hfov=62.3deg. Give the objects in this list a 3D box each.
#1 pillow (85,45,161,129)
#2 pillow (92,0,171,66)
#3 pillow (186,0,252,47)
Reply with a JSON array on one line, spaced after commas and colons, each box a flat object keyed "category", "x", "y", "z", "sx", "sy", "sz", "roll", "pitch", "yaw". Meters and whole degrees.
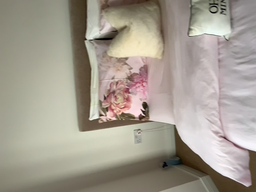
[{"category": "pillow", "x": -0.030, "y": -0.080, "z": 1.770, "sx": 0.150, "sy": 0.440, "sz": 0.560, "roll": -9, "pitch": 103, "yaw": 62}, {"category": "pillow", "x": 0.030, "y": -0.510, "z": 1.580, "sx": 0.250, "sy": 0.390, "sz": 0.400, "roll": -11, "pitch": 107, "yaw": 61}, {"category": "pillow", "x": 0.390, "y": -0.580, "z": 1.000, "sx": 0.160, "sy": 0.200, "sz": 0.660, "roll": -17, "pitch": 79, "yaw": 63}]
